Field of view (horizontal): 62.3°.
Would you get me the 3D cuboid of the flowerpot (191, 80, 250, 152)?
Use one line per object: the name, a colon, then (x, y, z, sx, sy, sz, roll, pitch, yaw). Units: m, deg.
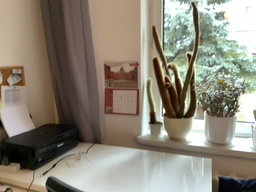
flowerpot: (0.640, 0.120, 1.510, 0.340, 0.450, 0.210, 2, 9, 20)
